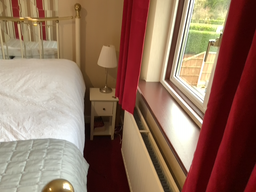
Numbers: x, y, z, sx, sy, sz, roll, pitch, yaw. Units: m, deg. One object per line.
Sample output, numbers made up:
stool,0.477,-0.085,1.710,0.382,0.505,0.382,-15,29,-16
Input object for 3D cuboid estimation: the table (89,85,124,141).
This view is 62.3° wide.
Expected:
table,-0.280,0.190,2.540,0.360,0.530,0.400,1,25,-11
